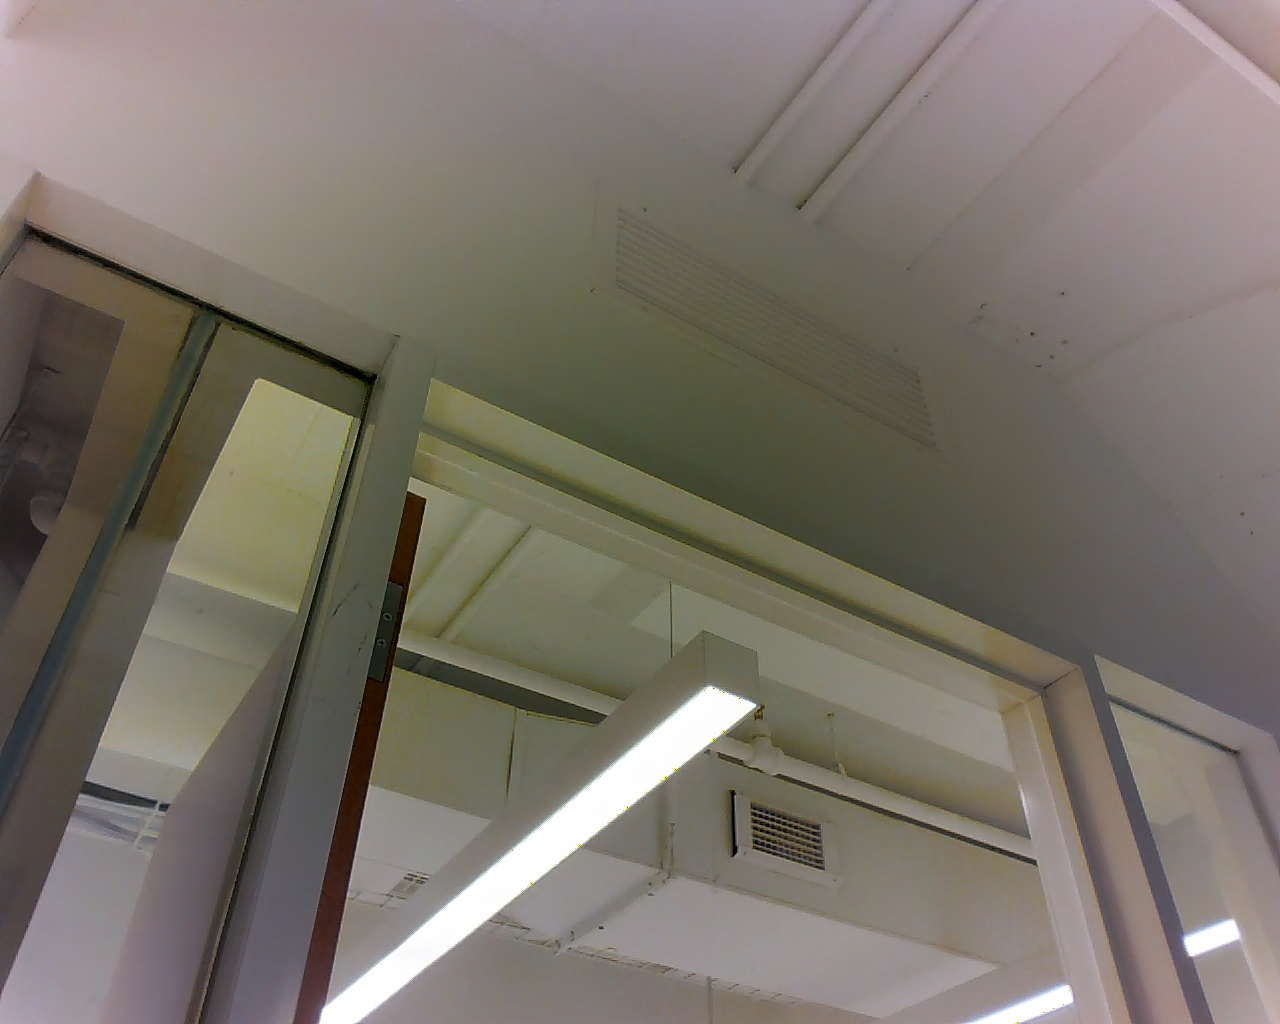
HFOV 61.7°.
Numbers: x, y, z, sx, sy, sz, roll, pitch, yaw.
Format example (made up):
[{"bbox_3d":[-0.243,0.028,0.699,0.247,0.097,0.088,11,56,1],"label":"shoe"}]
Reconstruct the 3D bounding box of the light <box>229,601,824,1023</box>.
[{"bbox_3d":[-0.480,0.951,2.370,0.210,0.220,2.460,24,-47,-23],"label":"light"}]
